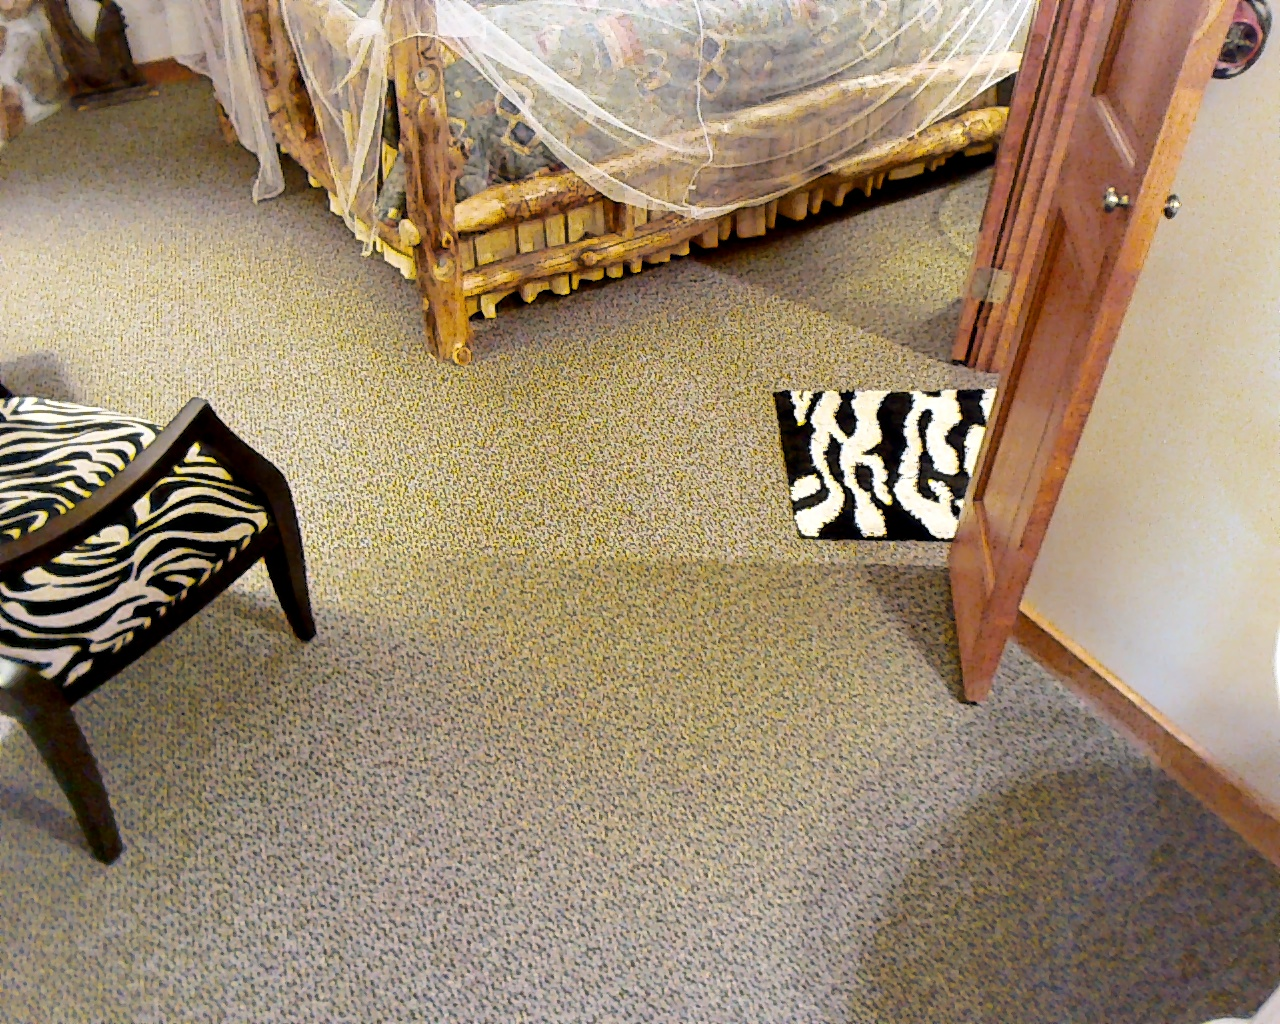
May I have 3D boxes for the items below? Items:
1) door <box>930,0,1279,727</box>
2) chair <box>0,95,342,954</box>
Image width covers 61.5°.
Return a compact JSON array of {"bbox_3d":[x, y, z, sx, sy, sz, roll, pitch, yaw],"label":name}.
[{"bbox_3d":[0.690,-0.560,1.410,0.150,2.150,0.420,5,41,4],"label":"door"},{"bbox_3d":[-1.050,-0.020,1.660,0.690,0.960,0.760,17,43,16],"label":"chair"}]
